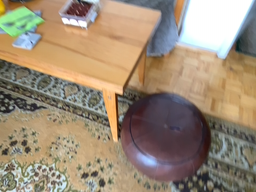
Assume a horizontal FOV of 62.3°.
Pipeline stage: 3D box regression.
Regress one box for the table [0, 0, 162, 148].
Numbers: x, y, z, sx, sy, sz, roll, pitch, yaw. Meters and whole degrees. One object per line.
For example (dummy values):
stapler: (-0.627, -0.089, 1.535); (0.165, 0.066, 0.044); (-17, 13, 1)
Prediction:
table: (-0.550, -0.270, 1.260); (1.320, 0.560, 0.550); (18, 55, 11)
